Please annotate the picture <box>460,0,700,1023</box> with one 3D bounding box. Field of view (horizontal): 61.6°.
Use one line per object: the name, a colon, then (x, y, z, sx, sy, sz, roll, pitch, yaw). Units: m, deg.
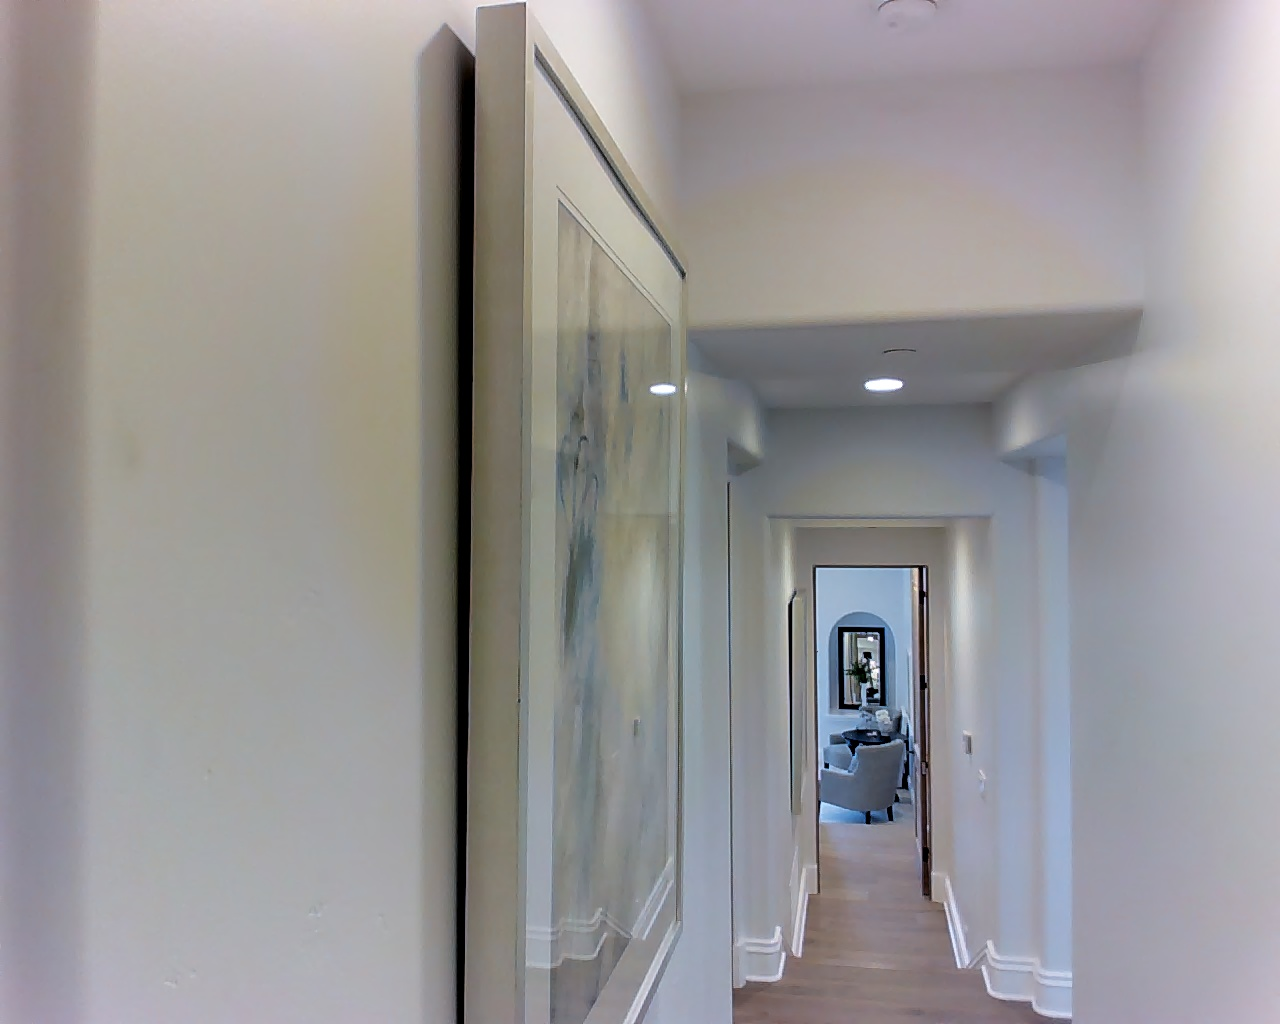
picture: (-0.030, 0.150, 1.620, 0.080, 1.470, 1.120, 0, -1, 11)
